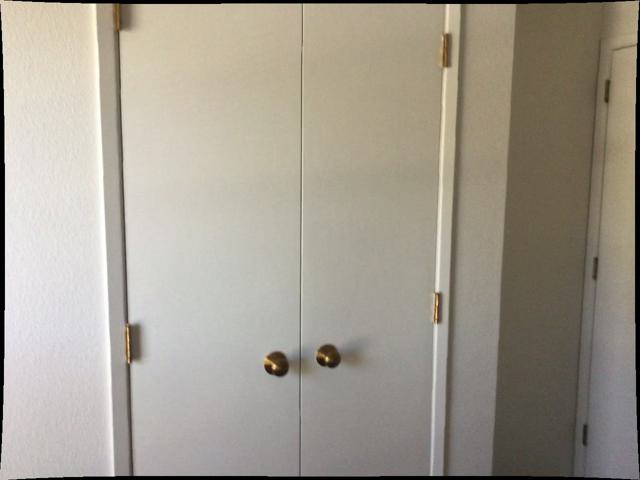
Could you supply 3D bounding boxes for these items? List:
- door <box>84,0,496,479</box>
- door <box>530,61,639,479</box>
[{"bbox_3d":[-0.070,0.230,1.590,1.039,2.093,0.160,-2,11,-24],"label":"door"},{"bbox_3d":[1.298,0.290,2.230,0.120,1.913,0.870,-2,11,-27],"label":"door"}]
